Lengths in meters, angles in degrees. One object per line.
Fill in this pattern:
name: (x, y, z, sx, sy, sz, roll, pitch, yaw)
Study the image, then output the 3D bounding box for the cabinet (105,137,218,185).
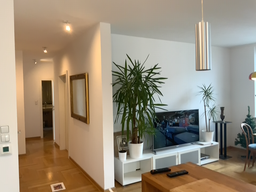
cabinet: (0.790, 1.220, 4.280, 2.500, 0.410, 0.470, -2, 2, -30)

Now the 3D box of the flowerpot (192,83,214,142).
flowerpot: (1.700, 0.360, 4.810, 0.420, 1.280, 0.230, -2, 2, -29)

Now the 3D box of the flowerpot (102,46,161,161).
flowerpot: (0.050, 0.110, 3.790, 0.820, 1.790, 0.670, -2, 2, -28)
